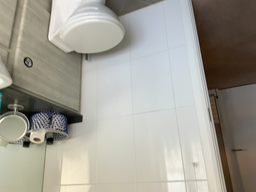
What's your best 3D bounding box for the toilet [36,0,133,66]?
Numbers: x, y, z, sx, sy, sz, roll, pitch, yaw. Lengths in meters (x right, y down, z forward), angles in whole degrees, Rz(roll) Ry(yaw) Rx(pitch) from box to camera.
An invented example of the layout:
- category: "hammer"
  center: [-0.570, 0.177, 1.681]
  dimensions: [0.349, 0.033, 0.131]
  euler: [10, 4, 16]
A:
- category: "toilet"
  center: [-0.290, -0.570, 1.550]
  dimensions: [0.520, 0.450, 0.410]
  euler: [-11, 158, 21]
